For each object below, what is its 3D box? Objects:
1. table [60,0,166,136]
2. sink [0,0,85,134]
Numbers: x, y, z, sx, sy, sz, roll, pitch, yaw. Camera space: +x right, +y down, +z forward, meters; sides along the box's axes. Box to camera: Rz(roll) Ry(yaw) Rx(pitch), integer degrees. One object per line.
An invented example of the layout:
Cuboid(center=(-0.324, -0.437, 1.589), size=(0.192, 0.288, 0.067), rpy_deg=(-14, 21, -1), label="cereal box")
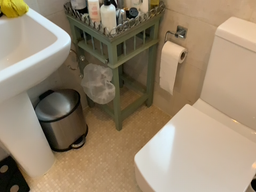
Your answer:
Cuboid(center=(-0.070, -0.190, 1.300), size=(0.370, 0.760, 0.360), rpy_deg=(-35, 55, -29), label="table")
Cuboid(center=(-0.500, -0.090, 0.700), size=(0.520, 0.180, 0.450), rpy_deg=(-35, 55, -29), label="sink")
